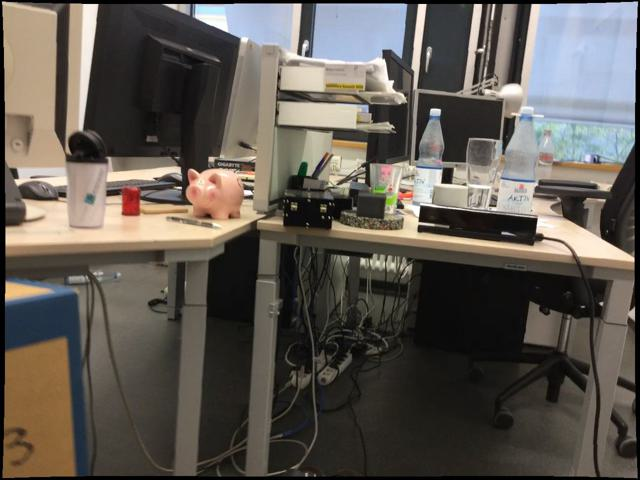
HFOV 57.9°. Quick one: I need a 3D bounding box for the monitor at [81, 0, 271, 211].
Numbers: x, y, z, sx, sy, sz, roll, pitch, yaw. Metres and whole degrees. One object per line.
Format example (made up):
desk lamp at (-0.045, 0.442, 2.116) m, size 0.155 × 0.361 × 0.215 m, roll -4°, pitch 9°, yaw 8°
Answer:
monitor at (-0.350, -0.370, 1.580) m, size 0.220 × 0.480 × 0.680 m, roll 7°, pitch 11°, yaw 10°
